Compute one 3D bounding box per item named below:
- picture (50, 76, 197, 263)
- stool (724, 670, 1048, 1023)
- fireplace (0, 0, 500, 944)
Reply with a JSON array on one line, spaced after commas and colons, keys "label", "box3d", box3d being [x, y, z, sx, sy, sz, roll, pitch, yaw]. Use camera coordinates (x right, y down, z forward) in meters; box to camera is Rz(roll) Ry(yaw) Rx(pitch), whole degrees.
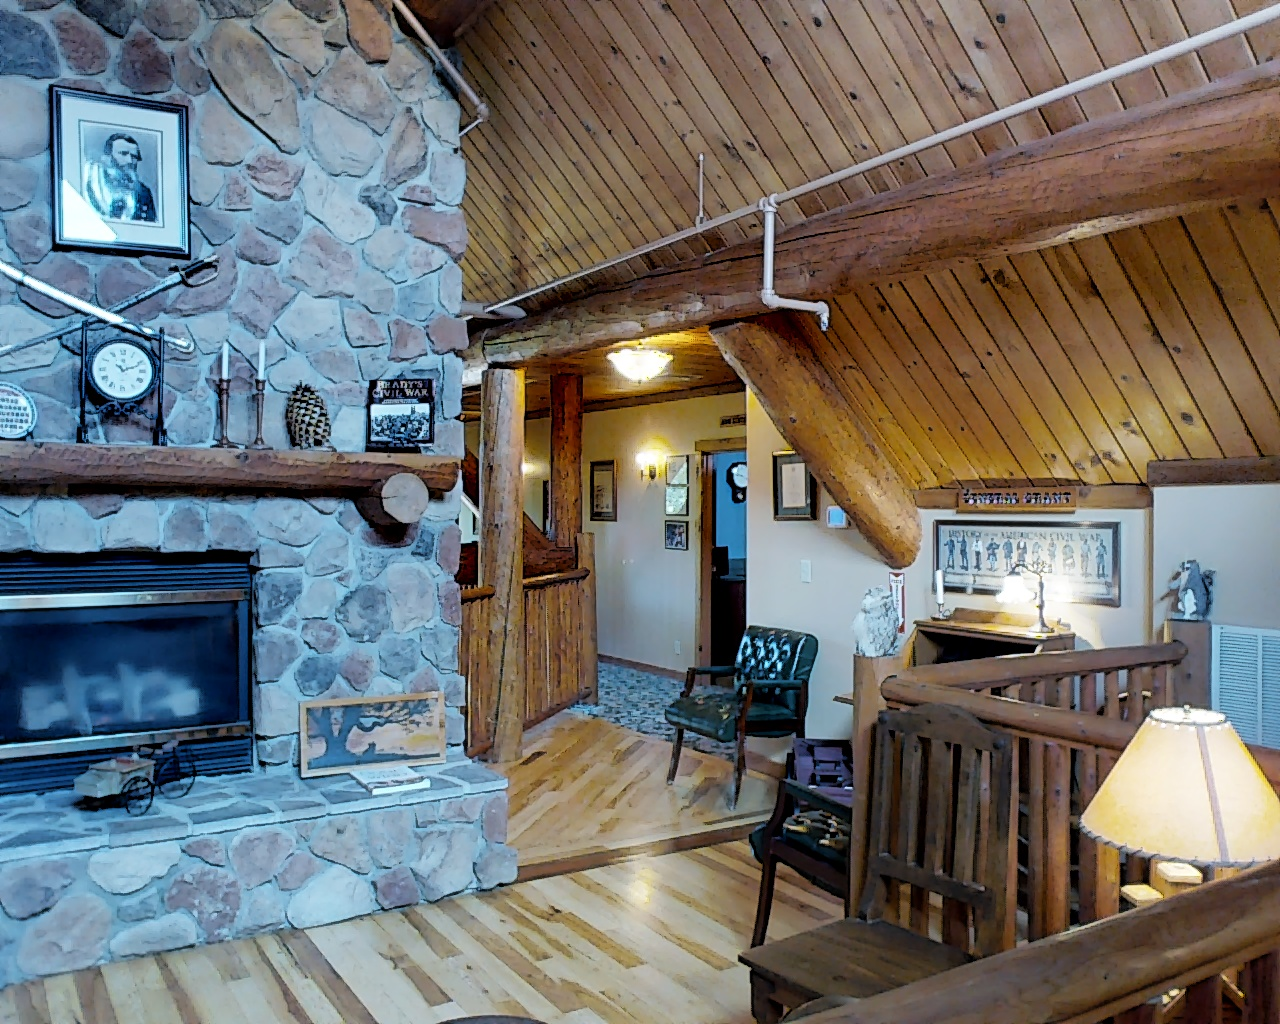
[{"label": "picture", "box3d": [-1.930, -1.270, 4.040, 0.490, 0.600, 0.060, 0, 1, -33]}, {"label": "stool", "box3d": [0.600, 0.990, 2.670, 0.540, 1.080, 0.560, 0, 1, -38]}, {"label": "fireplace", "box3d": [-2.120, -0.320, 4.350, 2.970, 3.661, 0.870, 0, 1, -33]}]
